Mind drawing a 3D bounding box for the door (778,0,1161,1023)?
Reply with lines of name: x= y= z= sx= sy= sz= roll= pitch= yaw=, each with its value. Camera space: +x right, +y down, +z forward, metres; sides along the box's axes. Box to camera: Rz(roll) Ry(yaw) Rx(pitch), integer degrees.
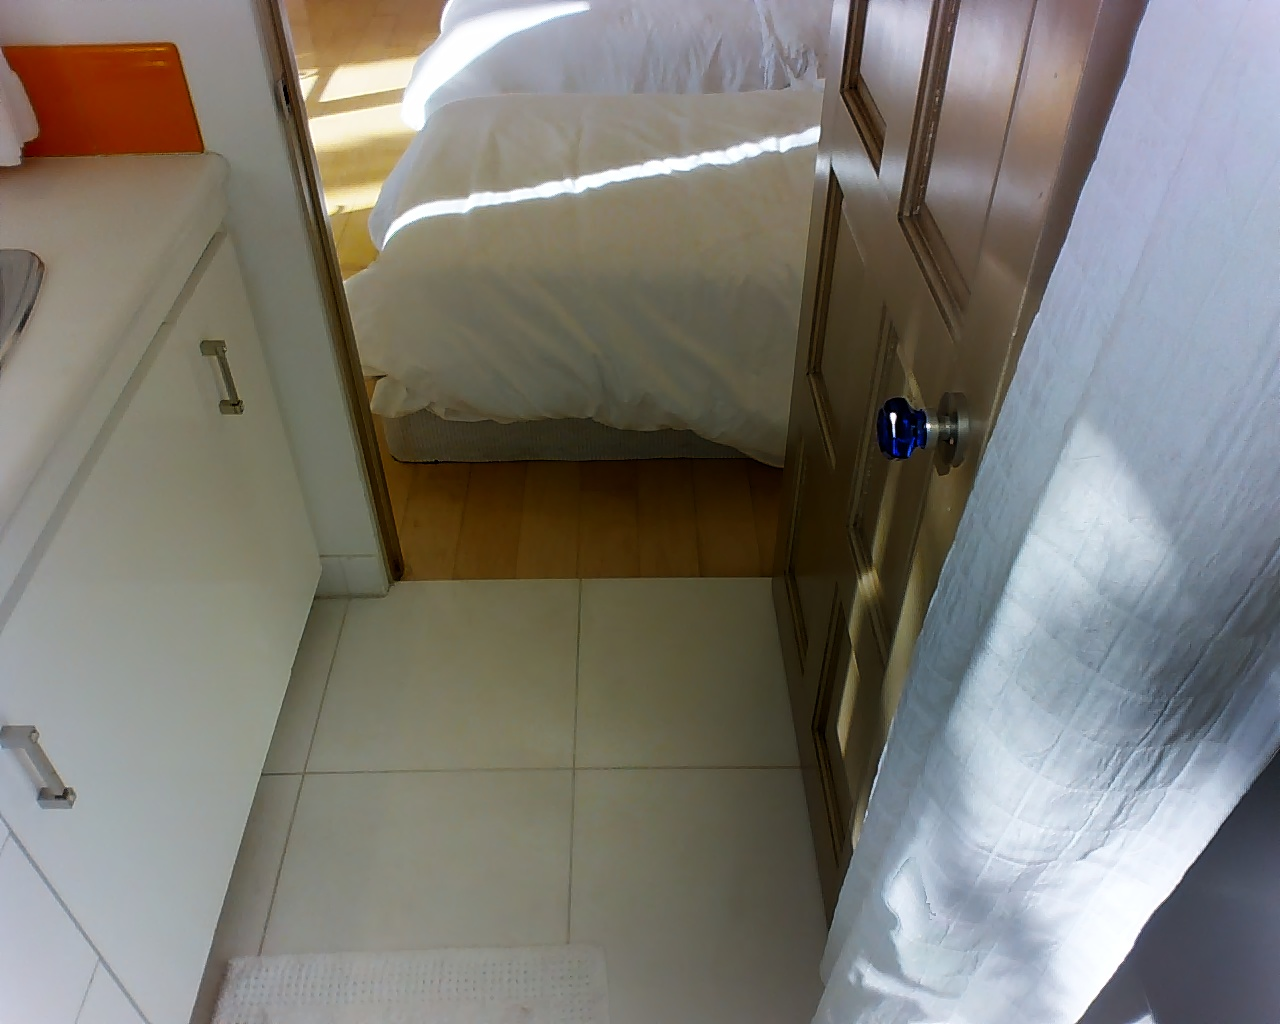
door: x=0.290 y=-0.440 z=1.070 sx=0.040 sy=2.450 sz=0.840 roll=0 pitch=42 yaw=1
